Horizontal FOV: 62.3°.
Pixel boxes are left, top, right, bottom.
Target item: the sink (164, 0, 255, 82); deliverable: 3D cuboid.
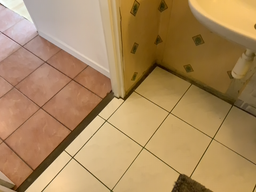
[{"bbox_3d":[0.480,-0.270,0.740,0.550,0.180,0.400,32,63,21],"label":"sink"}]
